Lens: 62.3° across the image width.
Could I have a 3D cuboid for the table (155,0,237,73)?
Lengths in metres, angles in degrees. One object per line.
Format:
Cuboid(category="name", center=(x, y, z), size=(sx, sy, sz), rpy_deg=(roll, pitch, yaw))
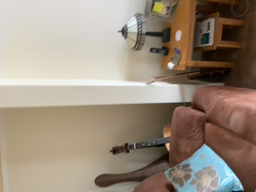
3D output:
Cuboid(category="table", center=(0.610, -0.570, 2.030), size=(0.490, 0.500, 0.650), rpy_deg=(-150, 60, -69))
